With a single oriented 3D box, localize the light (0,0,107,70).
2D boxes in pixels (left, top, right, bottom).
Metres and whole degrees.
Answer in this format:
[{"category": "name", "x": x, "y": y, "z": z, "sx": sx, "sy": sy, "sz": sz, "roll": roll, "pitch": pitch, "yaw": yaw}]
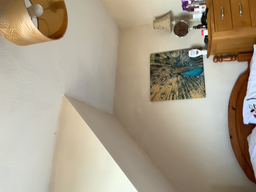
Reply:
[{"category": "light", "x": -0.510, "y": -0.480, "z": 1.260, "sx": 0.400, "sy": 0.800, "sz": 0.410, "roll": -16, "pitch": -98, "yaw": 16}]
